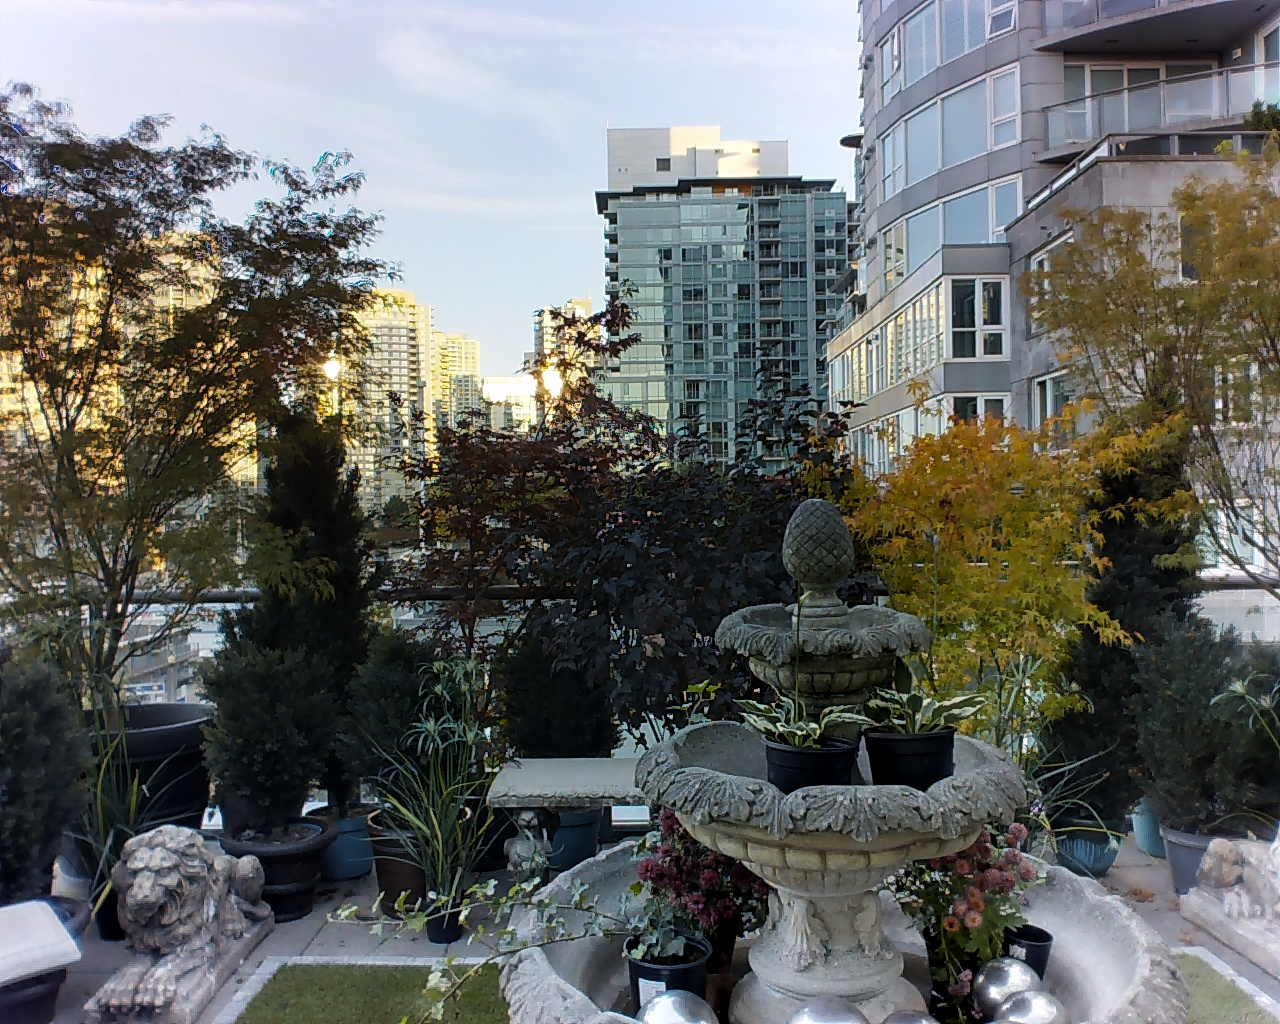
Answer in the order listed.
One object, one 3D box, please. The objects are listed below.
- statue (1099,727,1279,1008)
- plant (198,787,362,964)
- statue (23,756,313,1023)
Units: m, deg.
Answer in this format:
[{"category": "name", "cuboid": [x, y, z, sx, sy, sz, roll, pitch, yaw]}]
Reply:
[{"category": "statue", "cuboid": [2.110, 1.120, 3.530, 0.620, 0.560, 1.310, -1, 0, -1]}, {"category": "plant", "cuboid": [-1.230, 1.240, 3.750, 0.330, 0.380, 0.690, -1, 0, 1]}, {"category": "statue", "cuboid": [-1.410, 1.140, 3.360, 0.470, 0.530, 0.970, -1, 0, 1]}]
